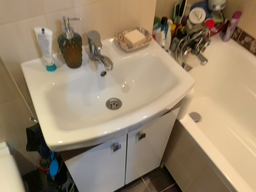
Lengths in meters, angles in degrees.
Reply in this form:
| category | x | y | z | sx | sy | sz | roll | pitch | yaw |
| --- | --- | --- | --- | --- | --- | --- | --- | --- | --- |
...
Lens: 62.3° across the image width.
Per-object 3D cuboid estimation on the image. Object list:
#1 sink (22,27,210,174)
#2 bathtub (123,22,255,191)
| category | x | y | z | sx | sy | sz | roll | pitch | yaw |
| --- | --- | --- | --- | --- | --- | --- | --- | --- | --- |
| sink | -0.050 | -0.030 | 0.760 | 0.520 | 0.130 | 0.370 | -21 | 55 | -19 |
| bathtub | 0.600 | 0.290 | 1.180 | 0.670 | 0.560 | 1.470 | -20 | 55 | -18 |
